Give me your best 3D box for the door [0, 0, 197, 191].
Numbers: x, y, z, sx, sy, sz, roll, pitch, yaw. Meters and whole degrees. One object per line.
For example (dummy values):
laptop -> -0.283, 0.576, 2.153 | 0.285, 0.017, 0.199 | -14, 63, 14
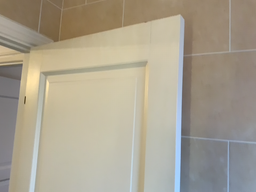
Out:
door -> -0.320, 0.730, 0.840 | 1.070, 2.210, 0.200 | 0, -7, 31
